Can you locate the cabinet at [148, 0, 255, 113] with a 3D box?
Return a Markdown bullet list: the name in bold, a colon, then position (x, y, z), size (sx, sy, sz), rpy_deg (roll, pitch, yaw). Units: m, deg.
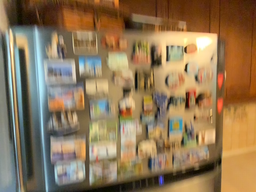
- **cabinet**: position (0.820, -0.380, 1.650), size (1.310, 0.860, 0.360), rpy_deg (-4, 7, -23)
